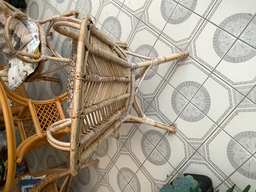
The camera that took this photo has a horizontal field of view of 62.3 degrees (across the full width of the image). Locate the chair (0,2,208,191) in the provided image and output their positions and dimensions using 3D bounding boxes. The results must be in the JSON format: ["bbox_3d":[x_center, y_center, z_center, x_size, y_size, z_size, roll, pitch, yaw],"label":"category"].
[{"bbox_3d":[-0.110,-0.060,1.080,0.660,0.800,0.550,15,104,39],"label":"chair"}]

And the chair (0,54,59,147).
[{"bbox_3d":[-1.350,0.080,2.180,0.770,0.800,0.690,-39,70,36],"label":"chair"}]
